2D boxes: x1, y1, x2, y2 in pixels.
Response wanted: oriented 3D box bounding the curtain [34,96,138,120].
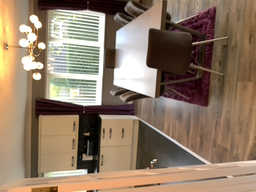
[{"bbox_3d":[-0.890,0.280,4.830,0.250,2.250,0.480,-156,69,-71],"label":"curtain"}]
